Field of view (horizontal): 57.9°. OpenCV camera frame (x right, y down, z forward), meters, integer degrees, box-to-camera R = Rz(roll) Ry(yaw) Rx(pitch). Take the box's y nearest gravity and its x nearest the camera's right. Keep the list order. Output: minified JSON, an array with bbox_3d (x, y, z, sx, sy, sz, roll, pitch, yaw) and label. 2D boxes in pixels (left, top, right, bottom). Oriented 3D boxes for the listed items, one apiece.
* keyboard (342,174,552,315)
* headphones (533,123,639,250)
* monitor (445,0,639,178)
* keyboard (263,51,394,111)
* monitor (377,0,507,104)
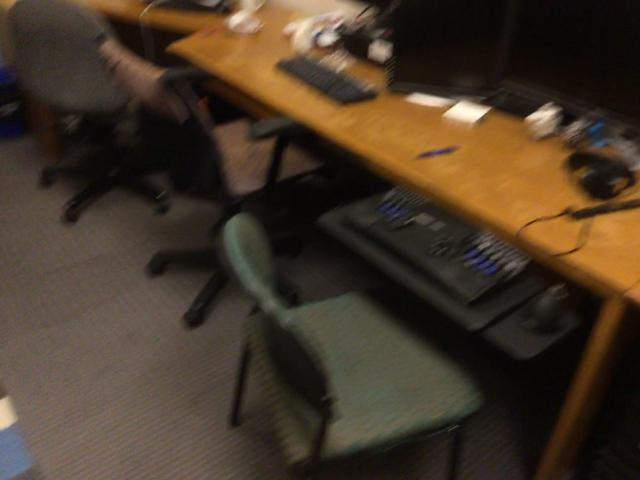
[{"bbox_3d":[0.280,-0.010,1.350,0.210,0.070,0.440,-22,42,-35],"label":"keyboard"},{"bbox_3d":[0.860,-0.150,1.440,0.600,0.090,0.350,-22,42,-35],"label":"headphones"},{"bbox_3d":[0.780,-0.530,1.520,0.230,0.560,0.840,-22,42,-35],"label":"monitor"},{"bbox_3d":[0.020,-0.560,2.000,0.220,0.050,0.430,-22,42,-35],"label":"keyboard"},{"bbox_3d":[0.380,-0.710,1.760,0.340,0.540,0.090,8,34,4],"label":"monitor"}]
